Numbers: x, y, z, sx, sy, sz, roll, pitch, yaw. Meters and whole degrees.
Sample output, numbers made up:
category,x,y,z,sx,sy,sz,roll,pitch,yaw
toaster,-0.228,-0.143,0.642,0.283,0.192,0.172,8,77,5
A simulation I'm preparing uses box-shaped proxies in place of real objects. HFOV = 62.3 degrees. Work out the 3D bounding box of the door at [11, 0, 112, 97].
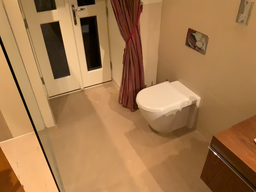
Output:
category,x,y,z,sx,sy,sz,roll,pitch,yaw
door,-0.660,-0.850,2.250,0.930,1.790,0.060,-17,40,-20

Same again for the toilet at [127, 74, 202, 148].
category,x,y,z,sx,sy,sz,roll,pitch,yaw
toilet,0.340,0.130,2.130,0.560,0.440,0.410,-18,40,-22

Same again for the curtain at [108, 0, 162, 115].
category,x,y,z,sx,sy,sz,roll,pitch,yaw
curtain,0.050,-0.740,1.970,0.370,2.020,0.350,-14,39,-17
